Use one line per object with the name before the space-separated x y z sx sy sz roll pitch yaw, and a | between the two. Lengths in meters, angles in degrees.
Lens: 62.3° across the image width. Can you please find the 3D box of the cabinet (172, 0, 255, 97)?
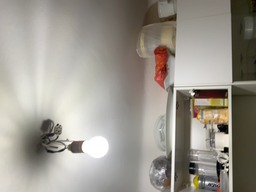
cabinet | 0.610 -0.450 1.290 0.330 0.580 0.860 23 -112 -61
